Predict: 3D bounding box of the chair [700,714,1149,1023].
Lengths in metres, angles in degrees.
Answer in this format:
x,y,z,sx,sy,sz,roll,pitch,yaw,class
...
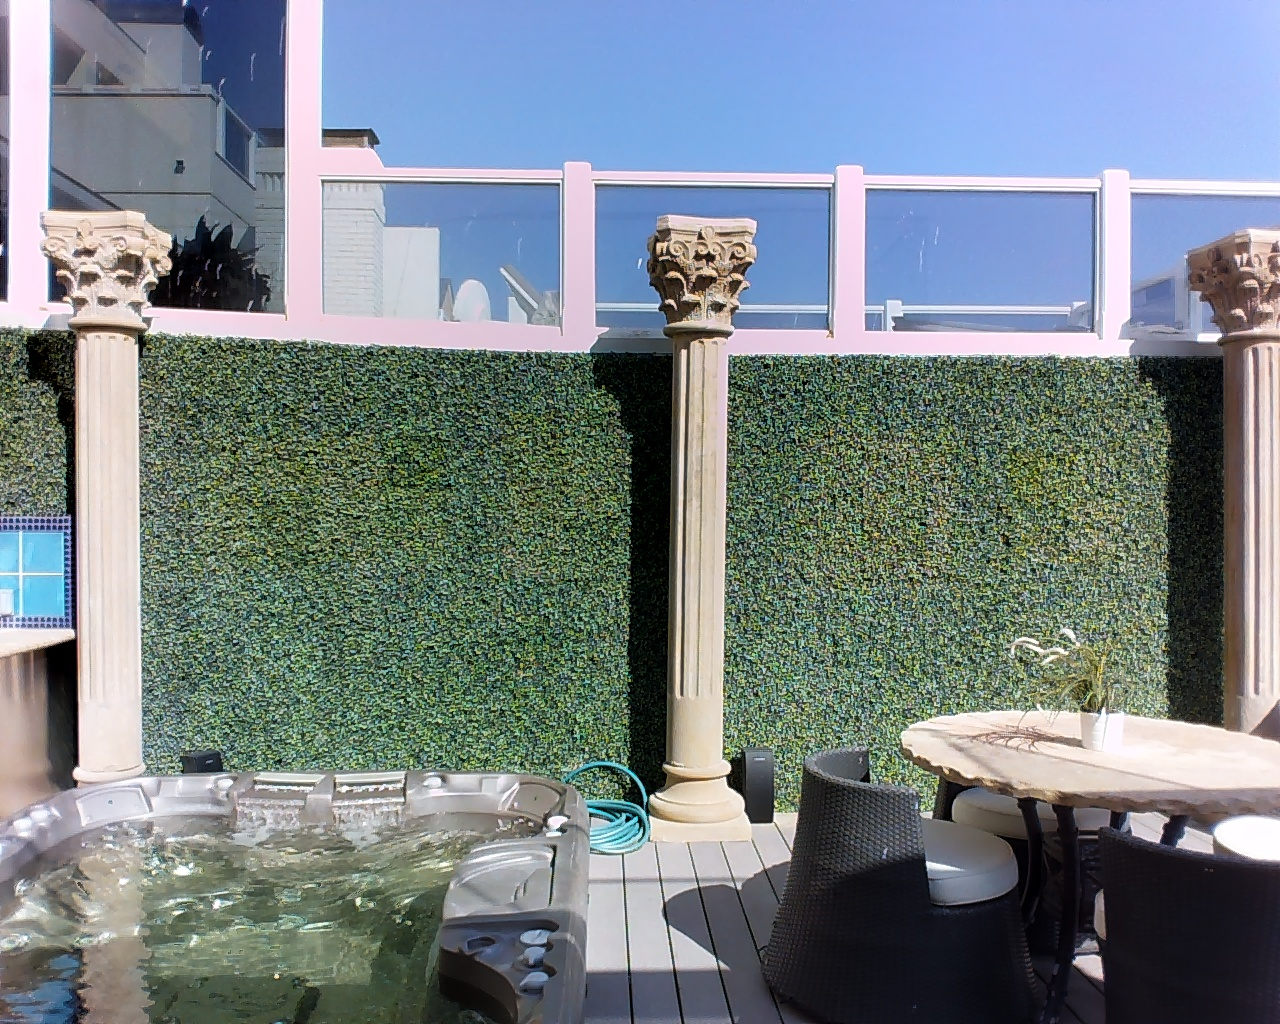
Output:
x,y,z,sx,sy,sz,roll,pitch,yaw,class
0.860,1.120,3.460,1.040,0.700,0.940,0,1,-20,chair
